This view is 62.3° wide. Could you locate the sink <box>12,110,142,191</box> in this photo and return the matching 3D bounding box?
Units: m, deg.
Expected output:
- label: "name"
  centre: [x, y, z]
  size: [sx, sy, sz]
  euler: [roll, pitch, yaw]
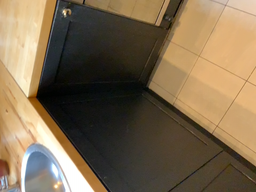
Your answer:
- label: "sink"
  centre: [-0.260, 0.400, 0.890]
  size: [0.470, 0.210, 0.480]
  euler: [39, 118, 32]
